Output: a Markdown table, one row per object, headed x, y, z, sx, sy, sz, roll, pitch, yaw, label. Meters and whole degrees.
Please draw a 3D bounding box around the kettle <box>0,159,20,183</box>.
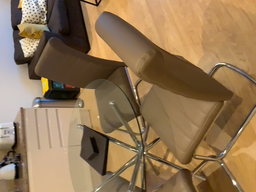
| x | y | z | sx | sy | sz | roll | pitch | yaw | label |
| --- | --- | --- | --- | --- | --- | --- | --- | --- | --- |
| -1.380 | 0.870 | 2.440 | 0.250 | 0.190 | 0.210 | -34 | 61 | 46 | kettle |
